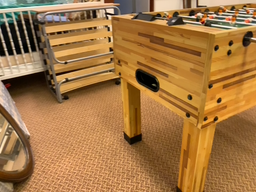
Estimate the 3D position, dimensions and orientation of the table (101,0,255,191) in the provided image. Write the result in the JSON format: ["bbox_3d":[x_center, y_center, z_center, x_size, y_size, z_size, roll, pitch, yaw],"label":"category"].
[{"bbox_3d":[0.700,-0.130,1.480,1.460,0.930,0.900,-15,30,-25],"label":"table"}]
